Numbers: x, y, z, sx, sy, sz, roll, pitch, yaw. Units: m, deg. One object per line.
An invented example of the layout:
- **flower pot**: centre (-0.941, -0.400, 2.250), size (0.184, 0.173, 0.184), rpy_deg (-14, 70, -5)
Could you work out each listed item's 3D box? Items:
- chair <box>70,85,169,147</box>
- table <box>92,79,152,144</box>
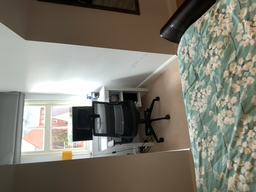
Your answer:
- **chair**: centre (-0.170, 0.300, 2.880), size (0.750, 1.120, 0.640), rpy_deg (139, 129, -63)
- **table**: centre (-0.130, 0.270, 3.350), size (0.600, 0.730, 0.880), rpy_deg (140, 128, -63)
